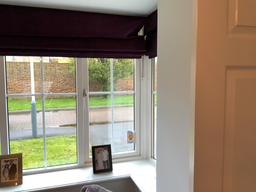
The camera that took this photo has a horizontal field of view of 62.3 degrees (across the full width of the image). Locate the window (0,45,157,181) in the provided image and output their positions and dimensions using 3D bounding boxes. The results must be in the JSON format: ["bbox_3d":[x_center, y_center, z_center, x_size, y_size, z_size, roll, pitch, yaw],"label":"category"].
[{"bbox_3d":[-0.940,0.130,1.610,2.520,1.010,0.090,-1,5,-19],"label":"window"}]
